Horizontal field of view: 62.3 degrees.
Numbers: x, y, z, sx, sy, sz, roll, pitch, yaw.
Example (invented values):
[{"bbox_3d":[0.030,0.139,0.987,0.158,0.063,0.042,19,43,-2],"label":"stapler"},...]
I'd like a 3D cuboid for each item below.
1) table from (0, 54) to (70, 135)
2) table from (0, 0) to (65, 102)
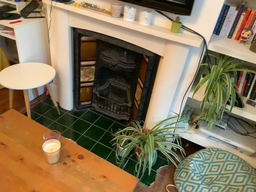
[{"bbox_3d":[-0.840,-0.030,1.940,0.420,0.480,0.420,22,37,16],"label":"table"},{"bbox_3d":[-1.260,-0.560,2.310,0.930,0.800,0.550,22,37,16],"label":"table"}]
